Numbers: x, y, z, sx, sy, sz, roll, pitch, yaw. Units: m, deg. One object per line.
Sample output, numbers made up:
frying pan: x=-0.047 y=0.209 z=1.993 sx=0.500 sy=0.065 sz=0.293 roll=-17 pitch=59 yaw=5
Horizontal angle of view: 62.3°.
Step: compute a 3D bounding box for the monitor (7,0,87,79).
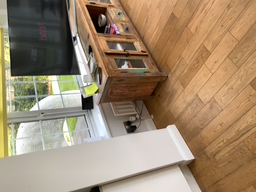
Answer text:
monitor: x=-0.880 y=-0.680 z=2.280 sx=0.070 sy=0.680 sz=1.070 roll=-47 pitch=54 yaw=54
